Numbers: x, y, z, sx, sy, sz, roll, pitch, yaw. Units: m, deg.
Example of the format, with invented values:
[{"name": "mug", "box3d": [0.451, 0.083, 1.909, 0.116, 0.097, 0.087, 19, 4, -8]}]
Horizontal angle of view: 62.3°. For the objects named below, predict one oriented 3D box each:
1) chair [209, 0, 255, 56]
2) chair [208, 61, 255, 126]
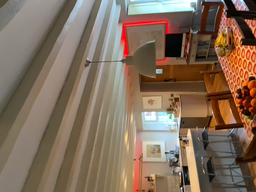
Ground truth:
[{"name": "chair", "box3d": [1.400, -0.750, 2.070, 0.450, 0.990, 0.520, -84, -9, -46]}, {"name": "chair", "box3d": [1.430, -0.020, 2.200, 0.520, 0.990, 0.440, 83, -171, -46]}]
